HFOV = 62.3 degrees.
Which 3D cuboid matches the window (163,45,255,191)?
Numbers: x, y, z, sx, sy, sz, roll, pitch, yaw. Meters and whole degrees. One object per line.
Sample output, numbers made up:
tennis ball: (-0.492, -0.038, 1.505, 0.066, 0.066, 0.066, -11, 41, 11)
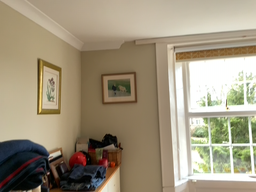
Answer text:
window: (1.070, 0.270, 2.470, 1.210, 1.590, 0.260, -3, -3, 13)
